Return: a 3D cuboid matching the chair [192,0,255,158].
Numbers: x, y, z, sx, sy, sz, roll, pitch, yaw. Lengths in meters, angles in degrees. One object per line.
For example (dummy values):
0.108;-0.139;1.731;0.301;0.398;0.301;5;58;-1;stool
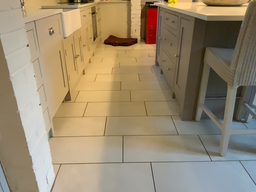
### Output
0.790;-0.130;1.470;0.420;0.980;0.500;-1;26;-2;chair
